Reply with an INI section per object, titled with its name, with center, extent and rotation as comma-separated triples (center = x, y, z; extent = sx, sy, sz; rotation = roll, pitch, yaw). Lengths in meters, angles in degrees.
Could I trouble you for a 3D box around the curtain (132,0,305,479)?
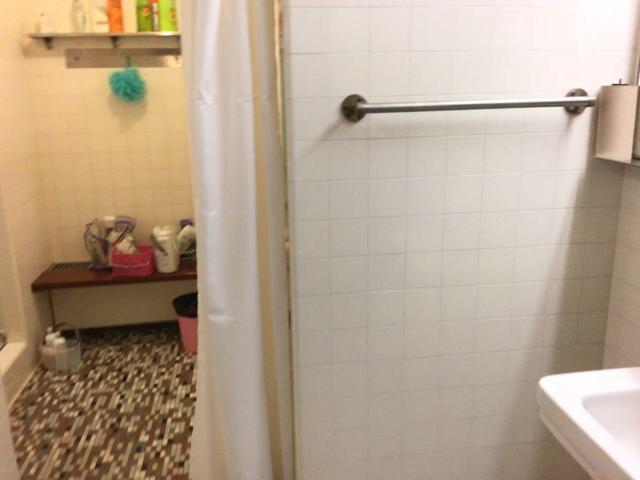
[curtain]
center = -0.270, 0.140, 1.740
extent = 0.390, 1.660, 0.340
rotation = -3, 13, -8
